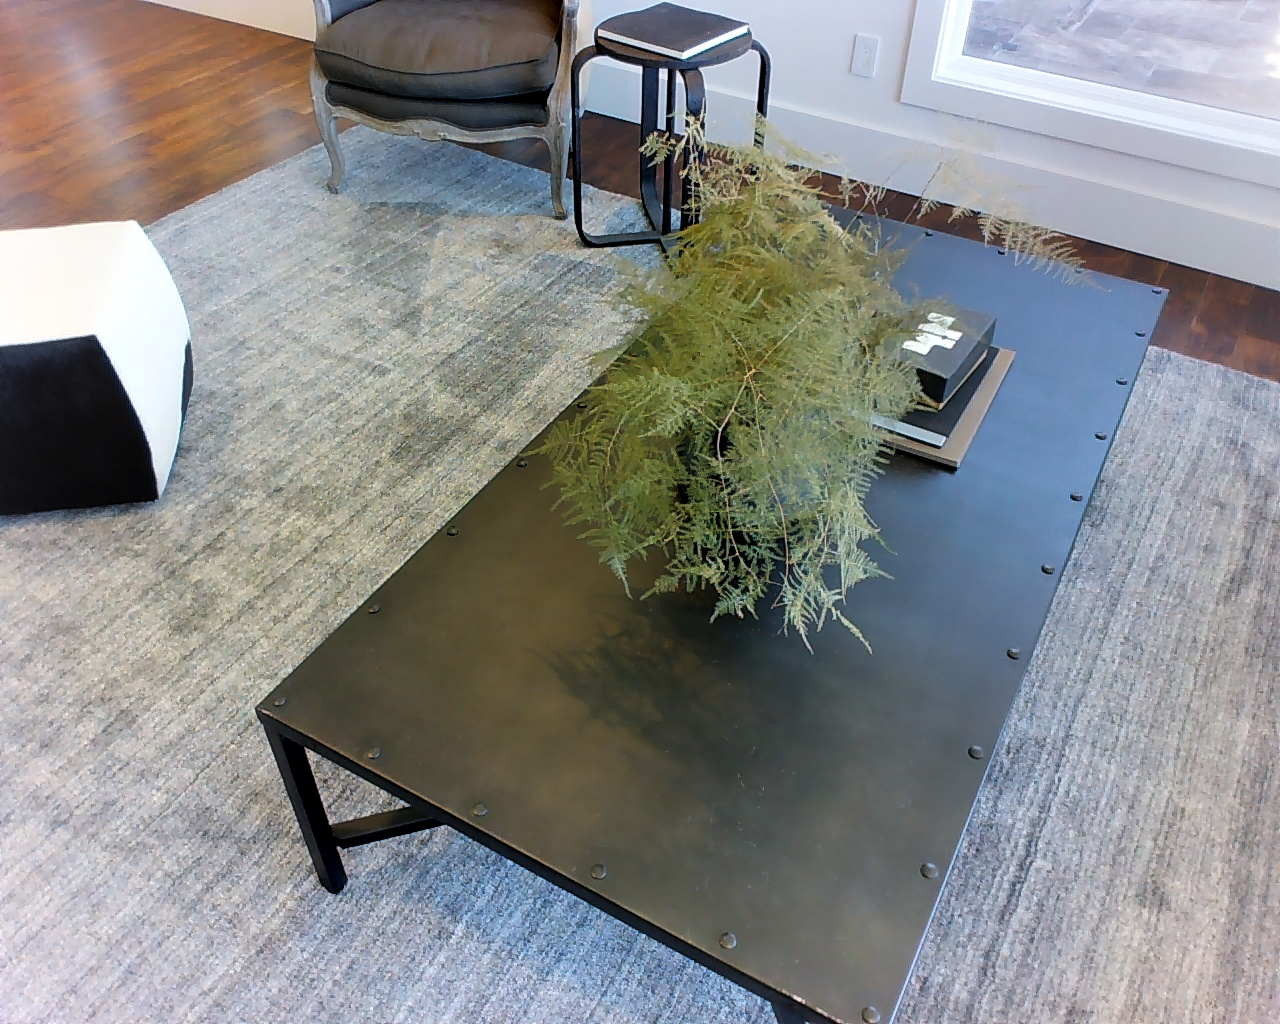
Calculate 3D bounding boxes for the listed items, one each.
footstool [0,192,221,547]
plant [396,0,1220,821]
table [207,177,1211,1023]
[{"bbox_3d":[-1.280,-0.310,2.300,0.600,0.460,0.600,-9,42,-11],"label":"footstool"},{"bbox_3d":[0.260,-0.230,1.470,0.660,0.590,0.900,22,46,23],"label":"plant"},{"bbox_3d":[0.290,0.050,1.920,0.930,0.480,1.740,22,46,23],"label":"table"}]
